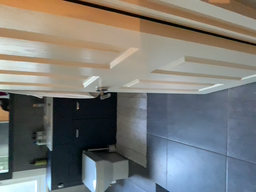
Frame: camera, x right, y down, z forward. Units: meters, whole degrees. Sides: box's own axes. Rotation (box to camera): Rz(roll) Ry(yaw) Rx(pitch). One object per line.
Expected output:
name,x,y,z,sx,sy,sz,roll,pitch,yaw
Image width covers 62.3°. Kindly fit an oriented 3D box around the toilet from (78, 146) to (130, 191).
toilet,-0.310,0.870,2.610,0.540,0.460,0.360,0,89,60
